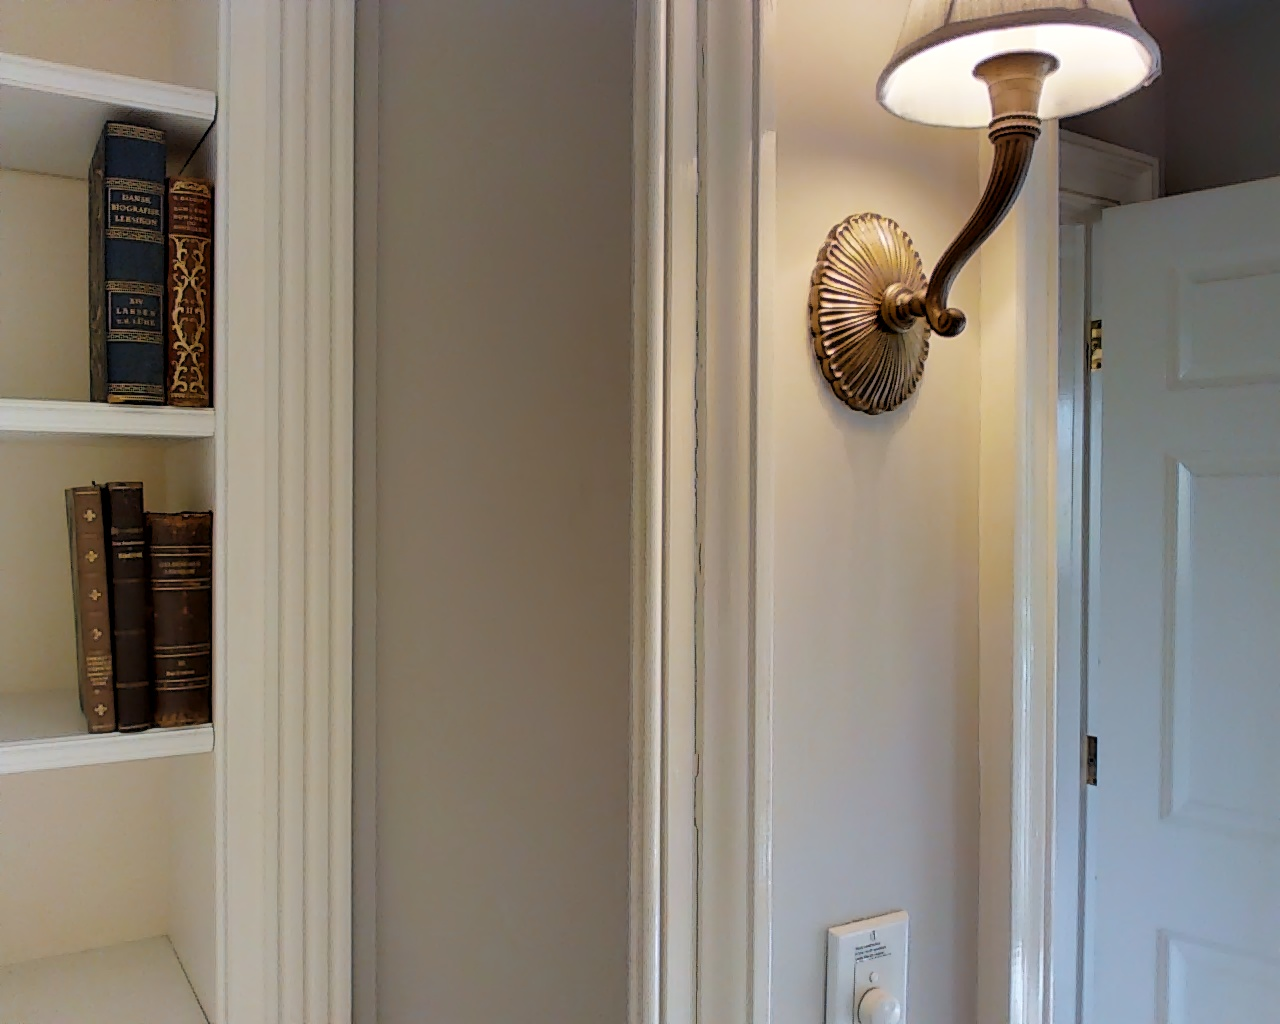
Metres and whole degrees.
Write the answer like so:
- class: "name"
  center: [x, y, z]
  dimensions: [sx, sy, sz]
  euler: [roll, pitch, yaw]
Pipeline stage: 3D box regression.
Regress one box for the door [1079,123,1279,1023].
- class: "door"
  center: [1.060, 0.460, 1.560]
  dimensions: [0.030, 2.090, 0.840]
  euler: [-1, 1, -45]
